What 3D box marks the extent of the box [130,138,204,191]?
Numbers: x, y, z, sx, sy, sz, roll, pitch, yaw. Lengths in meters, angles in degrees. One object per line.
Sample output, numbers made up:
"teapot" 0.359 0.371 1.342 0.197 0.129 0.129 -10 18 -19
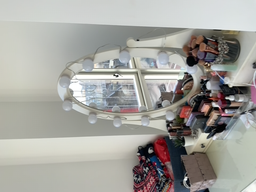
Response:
"box" 0.240 0.520 1.460 0.230 0.380 0.370 99 167 -45
